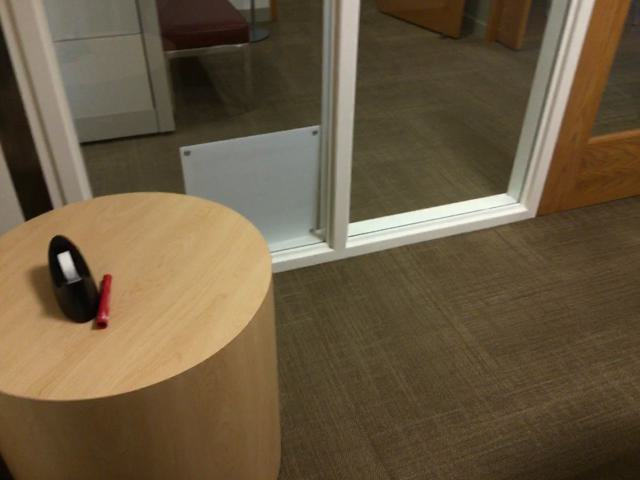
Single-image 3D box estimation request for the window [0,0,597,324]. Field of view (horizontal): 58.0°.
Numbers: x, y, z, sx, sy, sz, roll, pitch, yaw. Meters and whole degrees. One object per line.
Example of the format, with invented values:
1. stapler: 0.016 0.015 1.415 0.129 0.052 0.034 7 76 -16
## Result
1. window: 0.030 -0.440 1.810 1.660 1.130 0.270 -13 39 -15
